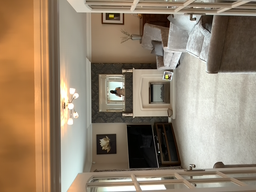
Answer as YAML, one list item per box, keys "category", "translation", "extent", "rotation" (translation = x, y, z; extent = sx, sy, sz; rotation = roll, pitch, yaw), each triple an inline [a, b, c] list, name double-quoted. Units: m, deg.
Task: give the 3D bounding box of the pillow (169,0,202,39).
- category: "pillow"
  translation: [0.840, -1.190, 3.190]
  extent: [0.500, 0.300, 0.450]
  rotation: [112, 157, -78]
